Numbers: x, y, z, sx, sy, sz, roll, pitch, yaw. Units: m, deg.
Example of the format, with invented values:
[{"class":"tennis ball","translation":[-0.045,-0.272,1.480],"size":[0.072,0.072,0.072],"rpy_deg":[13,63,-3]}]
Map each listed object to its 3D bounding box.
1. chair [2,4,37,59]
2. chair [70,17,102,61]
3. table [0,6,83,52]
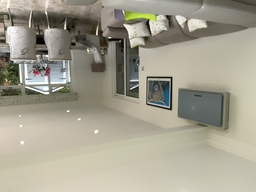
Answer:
[{"class":"chair","translation":[-2.290,-1.320,4.550],"size":[0.560,1.010,0.670],"rpy_deg":[-3,-173,-22]},{"class":"chair","translation":[-1.120,-1.450,5.600],"size":[0.670,1.030,0.570],"rpy_deg":[-4,-172,-27]},{"class":"table","translation":[-2.190,-1.500,5.010],"size":[1.970,0.770,1.000],"rpy_deg":[-4,-172,-28]}]
